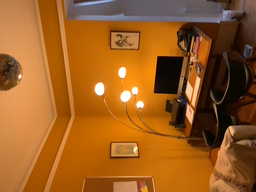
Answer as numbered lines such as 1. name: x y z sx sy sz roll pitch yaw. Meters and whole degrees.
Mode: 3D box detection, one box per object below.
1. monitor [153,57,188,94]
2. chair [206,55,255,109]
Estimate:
1. monitor: 0.660 -0.310 3.350 0.050 0.470 0.630 -100 10 -56
2. chair: 1.310 -0.170 2.340 0.500 0.680 0.530 -104 14 -81
